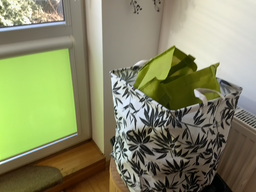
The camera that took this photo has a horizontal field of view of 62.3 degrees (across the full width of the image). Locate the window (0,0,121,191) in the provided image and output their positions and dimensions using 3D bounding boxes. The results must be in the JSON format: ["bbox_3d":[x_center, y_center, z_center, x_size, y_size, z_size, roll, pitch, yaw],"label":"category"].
[{"bbox_3d":[-0.590,-0.350,0.710,1.240,2.440,0.220,-20,40,-33],"label":"window"}]

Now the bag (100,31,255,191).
[{"bbox_3d":[0.170,0.080,0.830,0.420,0.520,0.410,-15,37,-27],"label":"bag"}]
